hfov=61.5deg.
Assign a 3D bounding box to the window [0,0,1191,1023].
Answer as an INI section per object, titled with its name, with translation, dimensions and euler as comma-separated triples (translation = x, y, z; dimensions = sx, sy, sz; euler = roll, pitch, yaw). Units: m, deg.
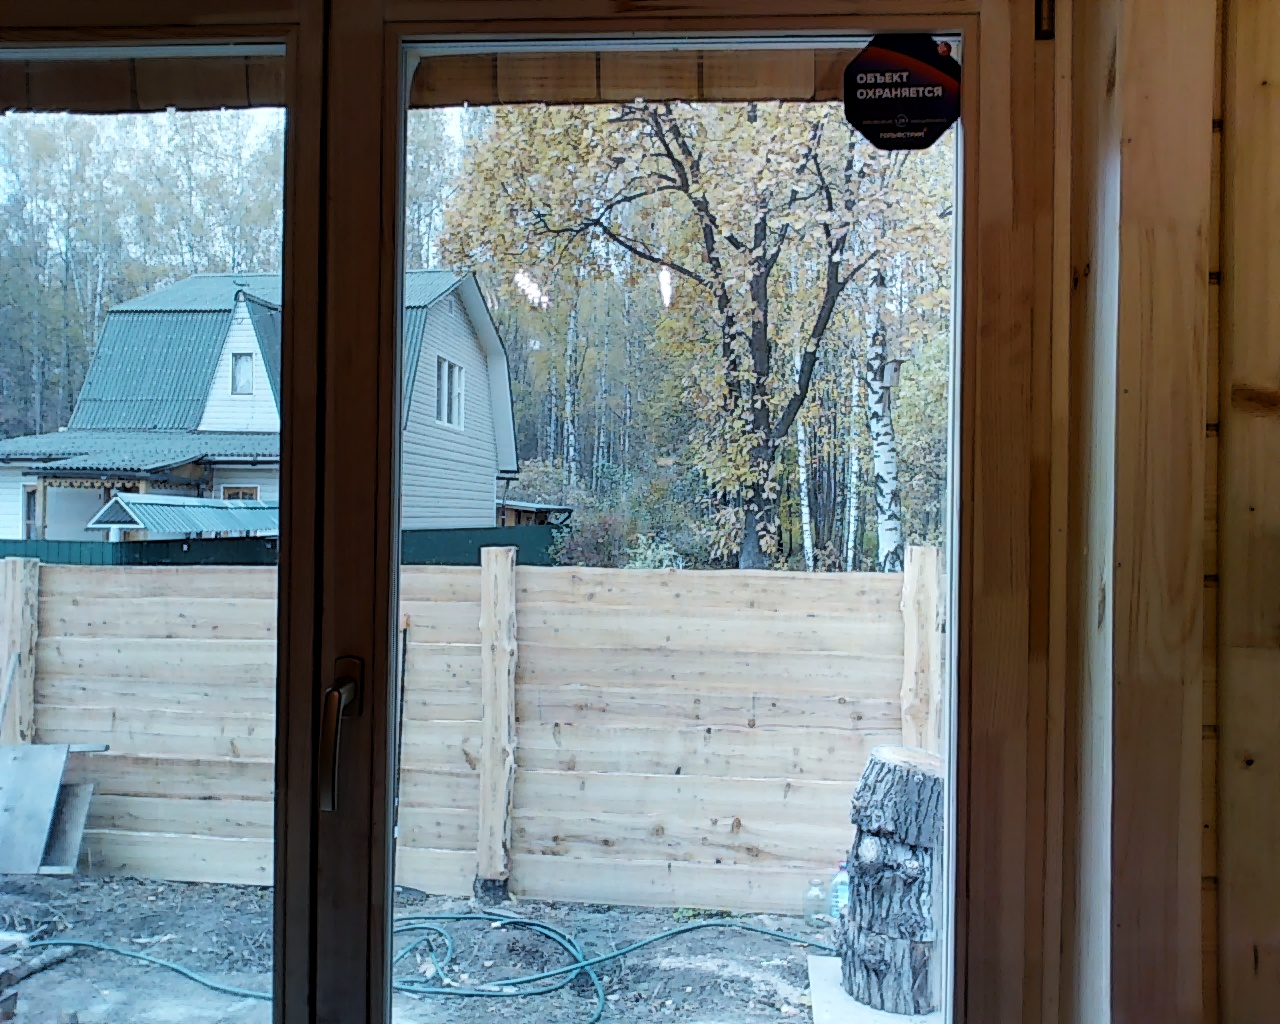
[window]
translation = -0.270, 0.060, 1.130
dimensions = 1.510, 1.260, 0.230
euler = 1, -1, 7
